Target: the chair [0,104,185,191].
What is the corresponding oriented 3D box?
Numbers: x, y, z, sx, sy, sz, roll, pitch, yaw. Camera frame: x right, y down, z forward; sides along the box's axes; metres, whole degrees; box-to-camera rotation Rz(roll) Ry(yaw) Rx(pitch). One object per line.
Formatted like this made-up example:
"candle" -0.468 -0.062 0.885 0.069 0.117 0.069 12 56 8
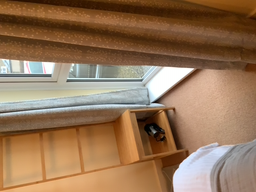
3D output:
"chair" -0.290 0.380 1.680 0.450 1.400 0.440 -44 53 55
